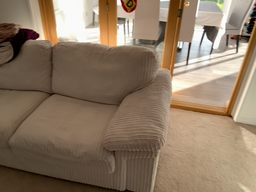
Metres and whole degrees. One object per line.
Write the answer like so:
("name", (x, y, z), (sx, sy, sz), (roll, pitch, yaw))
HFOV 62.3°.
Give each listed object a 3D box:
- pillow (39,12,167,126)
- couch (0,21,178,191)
("pillow", (-0.210, -0.190, 1.780), (0.920, 0.510, 0.220), (32, 38, -9))
("couch", (-0.740, -0.010, 1.840), (2.150, 0.870, 1.080), (9, 34, 9))
